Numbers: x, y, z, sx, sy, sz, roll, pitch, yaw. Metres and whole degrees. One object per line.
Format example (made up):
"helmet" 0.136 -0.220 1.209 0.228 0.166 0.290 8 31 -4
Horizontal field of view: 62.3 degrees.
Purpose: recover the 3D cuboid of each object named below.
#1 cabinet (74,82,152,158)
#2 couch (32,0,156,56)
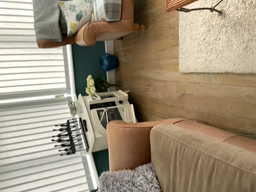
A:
"cabinet" -0.210 0.250 2.440 0.630 0.640 0.460 66 150 32
"couch" -0.410 -0.980 2.140 0.870 0.980 0.980 2 98 64
